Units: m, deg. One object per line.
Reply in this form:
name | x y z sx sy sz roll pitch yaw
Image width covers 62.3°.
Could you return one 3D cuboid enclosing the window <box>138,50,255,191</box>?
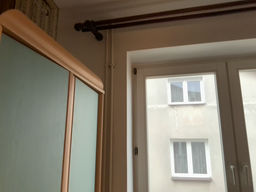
window | 0.800 0.390 1.550 1.420 1.490 0.110 -2 -13 8
